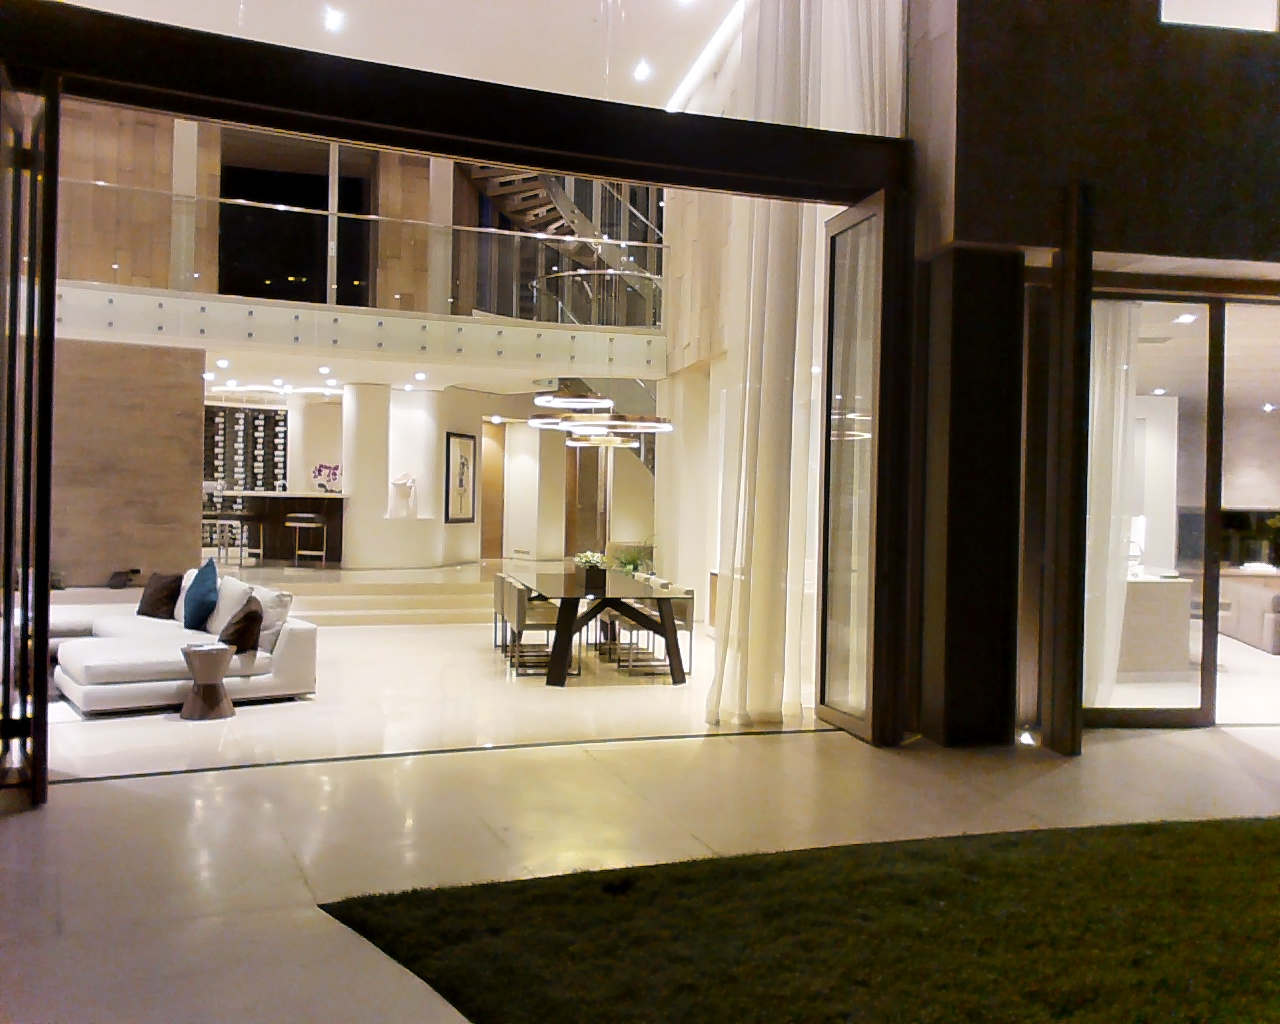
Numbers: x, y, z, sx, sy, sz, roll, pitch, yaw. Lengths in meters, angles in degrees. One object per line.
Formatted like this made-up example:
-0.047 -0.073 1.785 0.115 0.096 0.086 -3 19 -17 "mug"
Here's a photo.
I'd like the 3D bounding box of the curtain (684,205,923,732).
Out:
1.130 -0.280 7.800 1.310 3.461 1.240 1 0 -11 "curtain"
